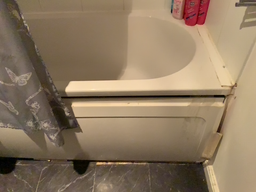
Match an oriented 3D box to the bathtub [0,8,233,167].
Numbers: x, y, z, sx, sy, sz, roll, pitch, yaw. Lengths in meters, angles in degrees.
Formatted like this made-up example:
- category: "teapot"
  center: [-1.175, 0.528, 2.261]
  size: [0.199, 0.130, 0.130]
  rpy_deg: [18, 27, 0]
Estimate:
- category: "bathtub"
  center: [-0.440, -0.060, 1.260]
  size: [1.670, 0.590, 0.720]
  rpy_deg: [-1, 46, 0]
